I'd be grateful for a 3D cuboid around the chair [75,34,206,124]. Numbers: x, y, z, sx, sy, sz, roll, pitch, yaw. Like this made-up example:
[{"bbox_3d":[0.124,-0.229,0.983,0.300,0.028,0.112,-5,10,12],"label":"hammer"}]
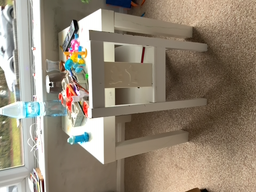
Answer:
[{"bbox_3d":[0.050,-0.080,0.910,0.310,0.460,0.280,11,103,56],"label":"chair"}]
